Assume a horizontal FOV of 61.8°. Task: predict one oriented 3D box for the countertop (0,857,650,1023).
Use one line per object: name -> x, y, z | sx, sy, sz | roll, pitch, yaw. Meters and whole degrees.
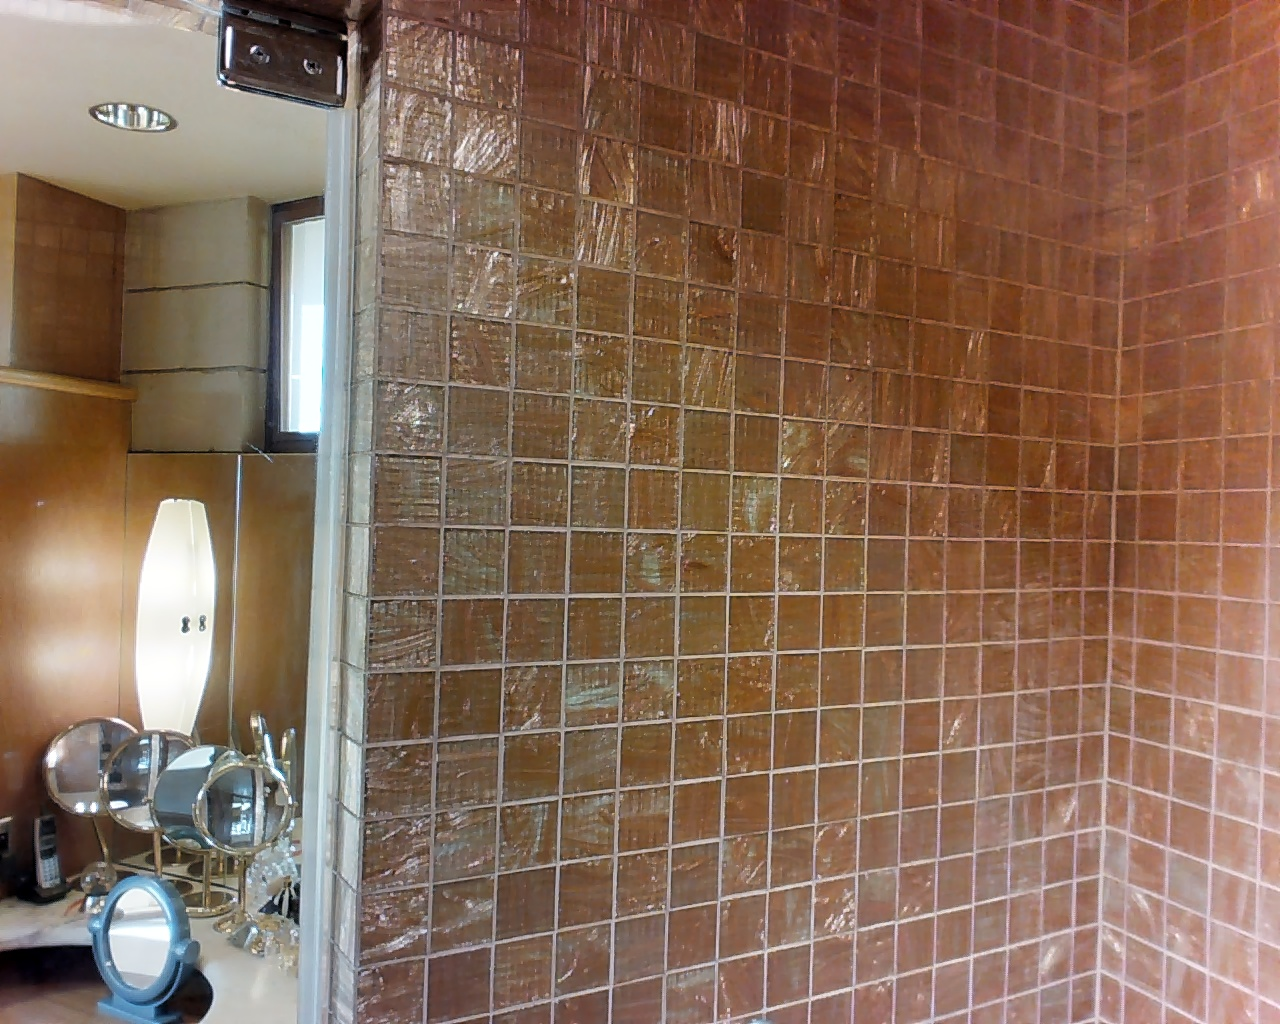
countertop -> -0.530, 0.910, 1.810 | 1.960, 0.100, 0.650 | 1, 0, 35
